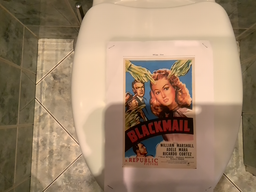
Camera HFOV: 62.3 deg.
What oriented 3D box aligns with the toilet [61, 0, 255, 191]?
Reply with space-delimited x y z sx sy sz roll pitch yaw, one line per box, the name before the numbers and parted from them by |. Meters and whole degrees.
toilet | 0.060 0.000 0.640 0.360 0.460 0.510 2 85 -1
